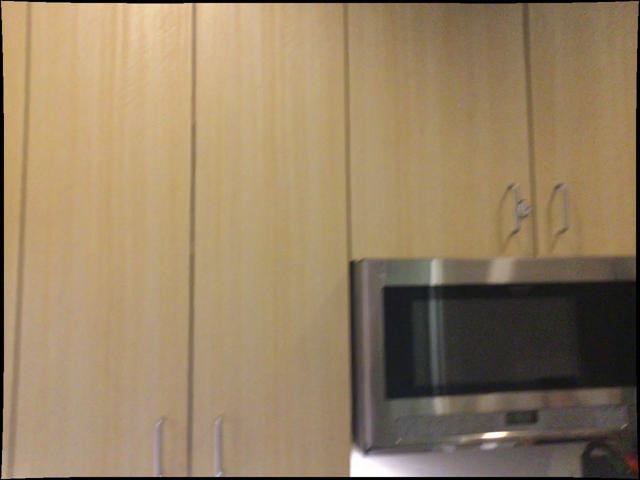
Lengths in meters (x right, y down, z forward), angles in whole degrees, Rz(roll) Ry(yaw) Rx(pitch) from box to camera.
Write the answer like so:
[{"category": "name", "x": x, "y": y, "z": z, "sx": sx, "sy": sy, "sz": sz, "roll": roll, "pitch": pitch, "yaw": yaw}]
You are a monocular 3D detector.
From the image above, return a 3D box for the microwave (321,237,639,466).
[{"category": "microwave", "x": 0.339, "y": 0.200, "z": 1.240, "sx": 0.599, "sy": 0.341, "sz": 0.400, "roll": -6, "pitch": -2, "yaw": -7}]
